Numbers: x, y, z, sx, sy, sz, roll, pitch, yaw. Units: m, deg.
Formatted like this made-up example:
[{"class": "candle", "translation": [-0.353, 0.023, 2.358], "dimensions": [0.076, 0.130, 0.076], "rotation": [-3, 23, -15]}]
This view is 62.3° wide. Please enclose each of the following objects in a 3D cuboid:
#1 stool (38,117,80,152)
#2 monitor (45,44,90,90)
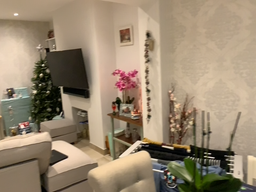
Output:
[{"class": "stool", "translation": [-1.330, 0.710, 4.090], "dimensions": [0.540, 0.420, 0.600], "rotation": [-11, 13, -38]}, {"class": "monitor", "translation": [-1.080, -0.460, 3.670], "dimensions": [1.110, 0.660, 0.070], "rotation": [-1, 9, 43]}]
